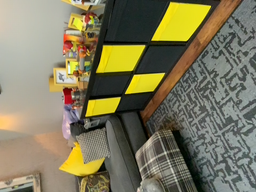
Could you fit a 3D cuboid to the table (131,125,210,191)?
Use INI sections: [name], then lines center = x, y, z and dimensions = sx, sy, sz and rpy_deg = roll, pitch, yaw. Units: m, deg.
[table]
center = 0.400, 0.830, 1.880
dimensions = 0.540, 0.310, 0.970
rpy_deg = 119, 138, -53
